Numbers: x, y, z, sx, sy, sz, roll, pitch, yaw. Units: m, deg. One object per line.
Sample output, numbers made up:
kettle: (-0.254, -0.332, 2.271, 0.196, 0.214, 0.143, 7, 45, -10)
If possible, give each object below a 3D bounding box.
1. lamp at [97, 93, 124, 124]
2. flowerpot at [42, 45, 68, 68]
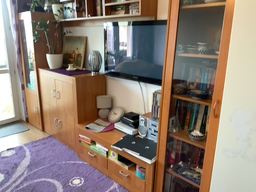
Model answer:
lamp: (-0.230, 0.150, 2.720, 0.200, 0.290, 0.290, -12, 21, -41)
flowerpot: (-1.060, -0.580, 3.090, 0.270, 0.300, 0.250, -13, 21, -42)
